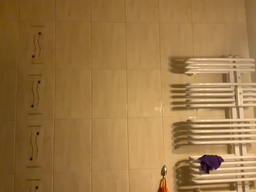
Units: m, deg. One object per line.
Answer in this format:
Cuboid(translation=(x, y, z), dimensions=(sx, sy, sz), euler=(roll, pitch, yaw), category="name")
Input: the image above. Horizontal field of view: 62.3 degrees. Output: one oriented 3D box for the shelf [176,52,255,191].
Cuboid(translation=(0.660, 0.270, 1.490), dimensions=(0.560, 1.130, 0.180), euler=(-1, -6, -5), category="shelf")
